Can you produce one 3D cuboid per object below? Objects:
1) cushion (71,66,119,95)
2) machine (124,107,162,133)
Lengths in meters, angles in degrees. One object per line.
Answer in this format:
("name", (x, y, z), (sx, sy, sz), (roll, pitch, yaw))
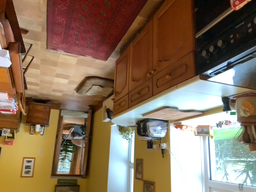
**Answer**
("cushion", (-0.690, -0.260, 4.150), (0.590, 0.090, 1.240), (10, 162, -24))
("machine", (0.170, 0.280, 2.400), (0.310, 0.230, 0.290), (11, 162, -27))
